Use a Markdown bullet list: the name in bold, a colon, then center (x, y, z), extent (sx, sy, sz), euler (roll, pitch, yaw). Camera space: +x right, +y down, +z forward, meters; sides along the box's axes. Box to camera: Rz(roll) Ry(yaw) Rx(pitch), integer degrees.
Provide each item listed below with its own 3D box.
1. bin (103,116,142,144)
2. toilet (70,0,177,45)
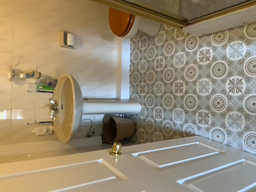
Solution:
- **bin**: center (-0.060, 0.370, 2.370), extent (0.230, 0.350, 0.240), euler (14, 99, 52)
- **toilet**: center (-0.030, -0.900, 1.910), extent (0.530, 0.790, 0.640), euler (-2, 86, 53)
